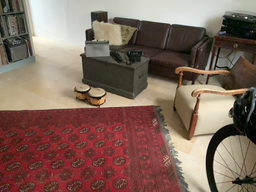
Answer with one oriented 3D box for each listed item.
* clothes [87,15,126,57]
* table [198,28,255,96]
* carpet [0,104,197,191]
[{"bbox_3d":[-0.350,-1.030,3.630,0.470,0.490,0.370,-24,24,8],"label":"clothes"},{"bbox_3d":[1.420,-0.510,3.010,0.590,0.720,0.540,17,33,25],"label":"table"},{"bbox_3d":[-0.770,0.500,1.820,2.460,0.010,1.470,-1,30,-5],"label":"carpet"}]
